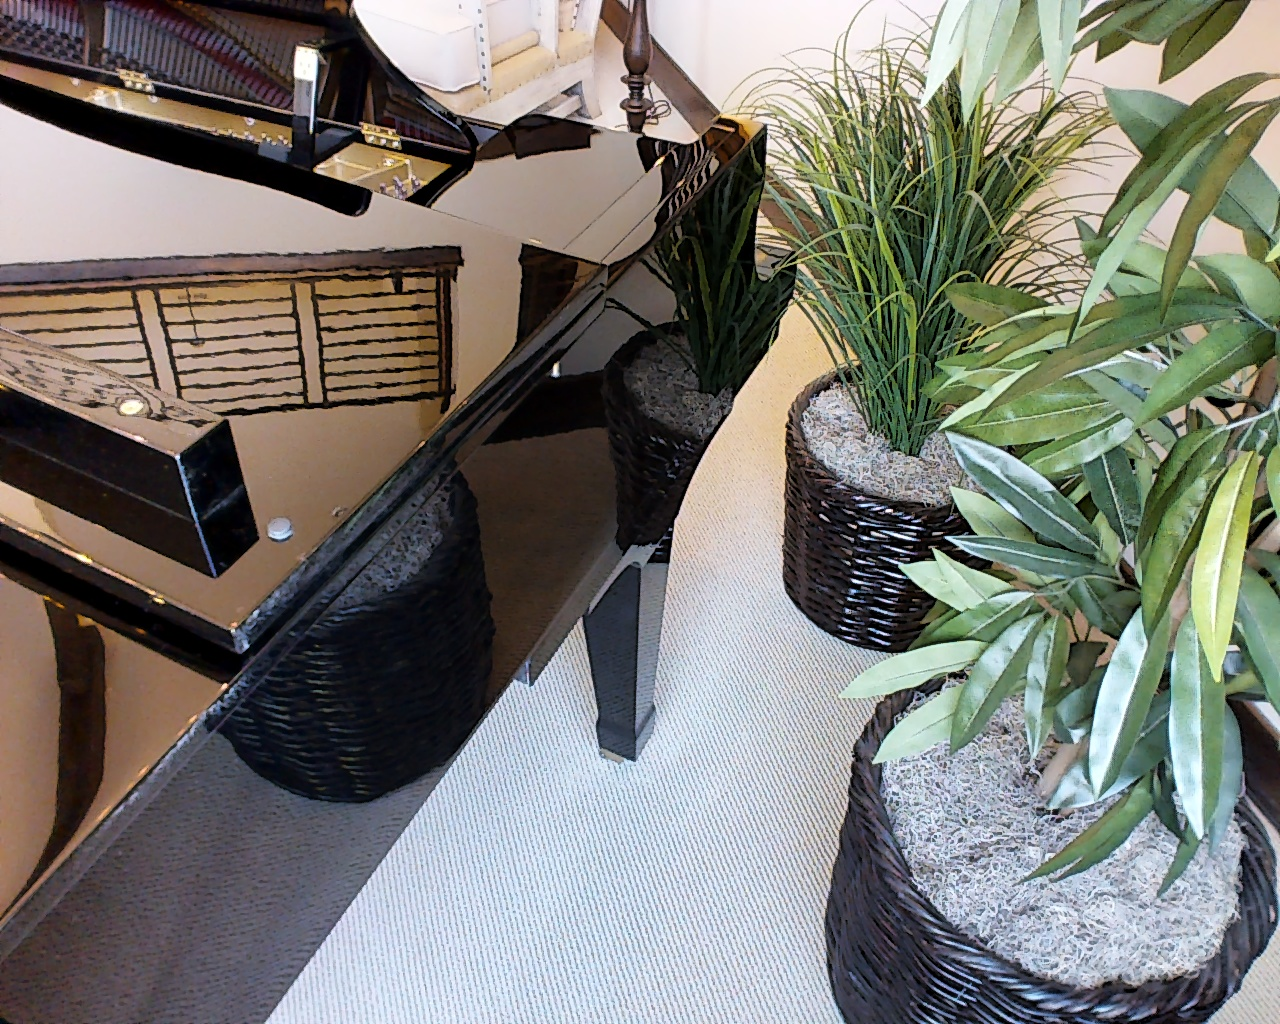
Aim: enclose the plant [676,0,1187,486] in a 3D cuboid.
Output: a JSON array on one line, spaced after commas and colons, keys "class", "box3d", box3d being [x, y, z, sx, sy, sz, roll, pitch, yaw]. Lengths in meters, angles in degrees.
[{"class": "plant", "box3d": [0.340, -0.400, 1.530, 0.550, 0.630, 0.350, 3, 44, 4]}]
